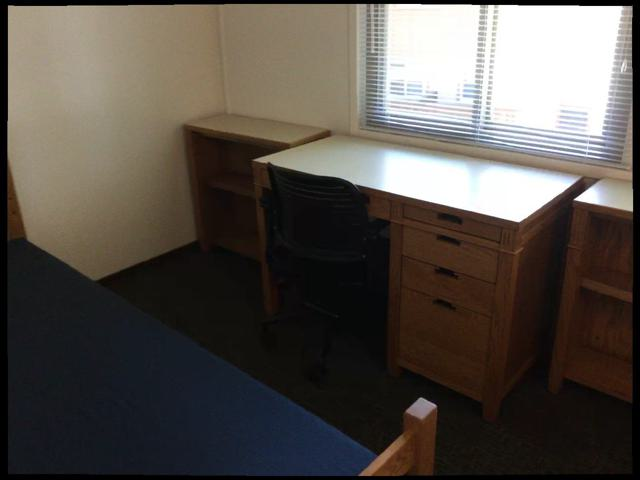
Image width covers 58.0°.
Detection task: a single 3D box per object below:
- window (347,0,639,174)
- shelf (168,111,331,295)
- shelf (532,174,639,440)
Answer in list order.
[{"bbox_3d":[0.659,-0.711,2.340,1.209,0.631,0.230,19,31,36],"label":"window"},{"bbox_3d":[-0.369,-0.230,3.080,0.799,0.751,0.370,19,31,36],"label":"shelf"},{"bbox_3d":[1.228,0.281,1.900,0.829,0.781,0.350,19,31,36],"label":"shelf"}]
